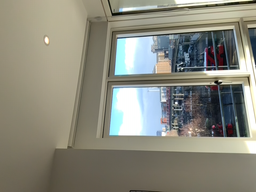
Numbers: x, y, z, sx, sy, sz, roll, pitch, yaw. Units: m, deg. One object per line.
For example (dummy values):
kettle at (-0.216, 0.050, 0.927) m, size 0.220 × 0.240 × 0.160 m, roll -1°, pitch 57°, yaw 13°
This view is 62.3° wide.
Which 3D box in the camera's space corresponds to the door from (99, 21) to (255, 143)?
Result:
door at (0.980, -0.190, 2.210) m, size 0.110 × 2.510 × 1.320 m, roll 66°, pitch -155°, yaw -65°
